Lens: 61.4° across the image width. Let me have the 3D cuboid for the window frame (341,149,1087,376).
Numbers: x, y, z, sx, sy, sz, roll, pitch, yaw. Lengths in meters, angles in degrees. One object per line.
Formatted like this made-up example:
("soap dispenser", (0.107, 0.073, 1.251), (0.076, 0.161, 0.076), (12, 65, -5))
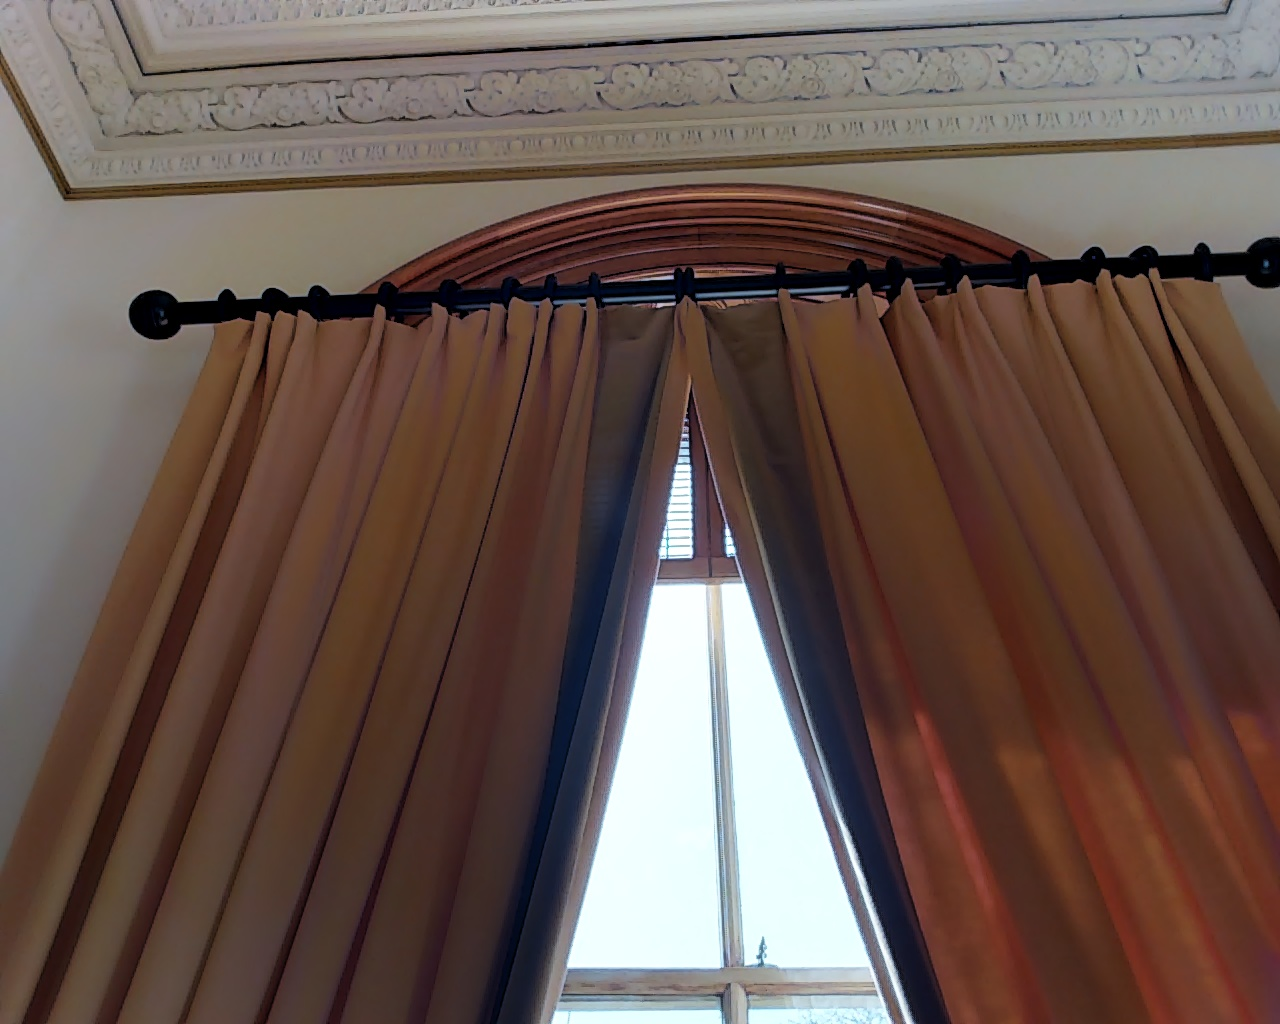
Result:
("window frame", (0.150, -0.610, 2.580), (1.619, 0.610, 0.100), (-3, -41, 3))
